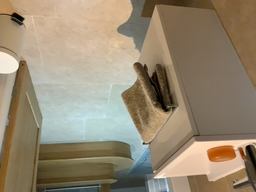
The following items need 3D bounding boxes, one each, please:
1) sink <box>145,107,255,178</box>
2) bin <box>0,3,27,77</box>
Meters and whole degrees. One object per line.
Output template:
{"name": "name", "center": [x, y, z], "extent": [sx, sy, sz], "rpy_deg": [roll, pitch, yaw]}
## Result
{"name": "sink", "center": [0.250, 0.190, 0.770], "extent": [0.270, 0.100, 0.430], "rpy_deg": [0, 148, -12]}
{"name": "bin", "center": [-0.660, -0.280, 1.090], "extent": [0.160, 0.270, 0.250], "rpy_deg": [-3, 148, -7]}
